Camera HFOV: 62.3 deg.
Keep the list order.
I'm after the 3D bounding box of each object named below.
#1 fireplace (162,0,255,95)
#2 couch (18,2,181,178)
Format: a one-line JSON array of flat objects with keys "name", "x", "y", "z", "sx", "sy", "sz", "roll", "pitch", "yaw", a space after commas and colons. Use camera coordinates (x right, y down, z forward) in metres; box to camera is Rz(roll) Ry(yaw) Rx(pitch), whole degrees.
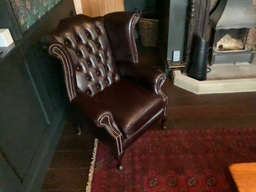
[{"name": "fireplace", "x": 1.400, "y": -0.910, "z": 2.530, "sx": 1.780, "sy": 1.300, "sz": 1.110, "roll": -3, "pitch": 37, "yaw": 2}, {"name": "couch", "x": -0.170, "y": -0.120, "z": 1.870, "sx": 0.840, "sy": 1.060, "sz": 0.850, "roll": 25, "pitch": 46, "yaw": 33}]
